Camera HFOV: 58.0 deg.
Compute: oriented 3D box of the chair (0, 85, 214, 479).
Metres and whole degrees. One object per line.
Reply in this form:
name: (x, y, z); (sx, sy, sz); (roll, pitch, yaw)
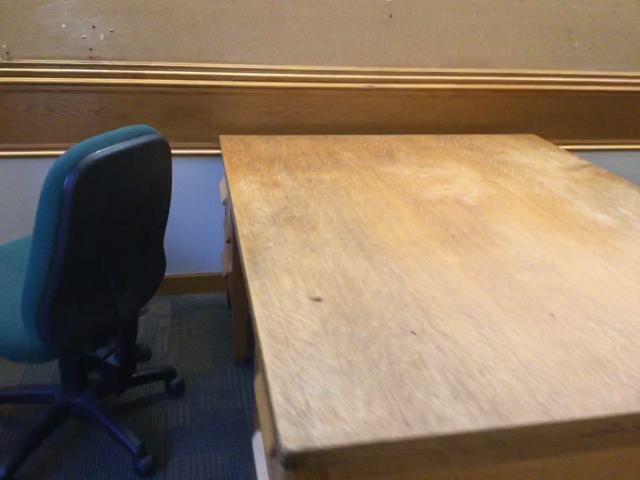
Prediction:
chair: (-0.730, 0.140, 1.610); (0.610, 0.960, 0.570); (15, 28, 23)
